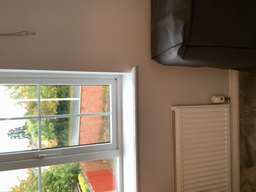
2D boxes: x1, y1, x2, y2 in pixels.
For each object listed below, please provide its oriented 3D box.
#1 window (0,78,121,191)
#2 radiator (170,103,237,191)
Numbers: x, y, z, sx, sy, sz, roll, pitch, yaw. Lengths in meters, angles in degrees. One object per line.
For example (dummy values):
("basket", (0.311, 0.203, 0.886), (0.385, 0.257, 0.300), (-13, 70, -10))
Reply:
("window", (-0.550, 0.460, 1.400), (0.050, 1.050, 1.140), (-178, 88, -68))
("radiator", (0.550, 0.410, 1.520), (0.080, 0.520, 0.710), (-175, 85, -68))
